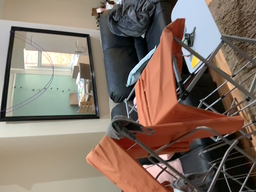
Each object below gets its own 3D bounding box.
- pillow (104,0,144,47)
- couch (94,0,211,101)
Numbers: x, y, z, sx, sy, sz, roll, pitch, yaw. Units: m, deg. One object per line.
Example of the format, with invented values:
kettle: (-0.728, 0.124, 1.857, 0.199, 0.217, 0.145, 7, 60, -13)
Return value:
pillow: (-0.050, -0.960, 2.660, 0.450, 0.250, 0.430, -65, 4, -37)
couch: (0.160, -0.810, 2.690, 0.880, 0.900, 1.510, 122, 144, -55)
